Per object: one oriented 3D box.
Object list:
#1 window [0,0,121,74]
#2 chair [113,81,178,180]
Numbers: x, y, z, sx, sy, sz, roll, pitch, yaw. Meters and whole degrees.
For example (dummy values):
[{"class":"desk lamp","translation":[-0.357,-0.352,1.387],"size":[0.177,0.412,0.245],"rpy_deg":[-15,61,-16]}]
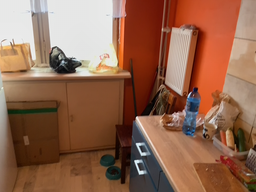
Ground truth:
[{"class":"window","translation":[-0.940,-0.860,2.230],"size":[1.740,1.230,0.140],"rpy_deg":[-3,21,-16]},{"class":"chair","translation":[0.140,0.350,2.270],"size":[0.530,0.920,0.440],"rpy_deg":[-1,21,-11]}]
